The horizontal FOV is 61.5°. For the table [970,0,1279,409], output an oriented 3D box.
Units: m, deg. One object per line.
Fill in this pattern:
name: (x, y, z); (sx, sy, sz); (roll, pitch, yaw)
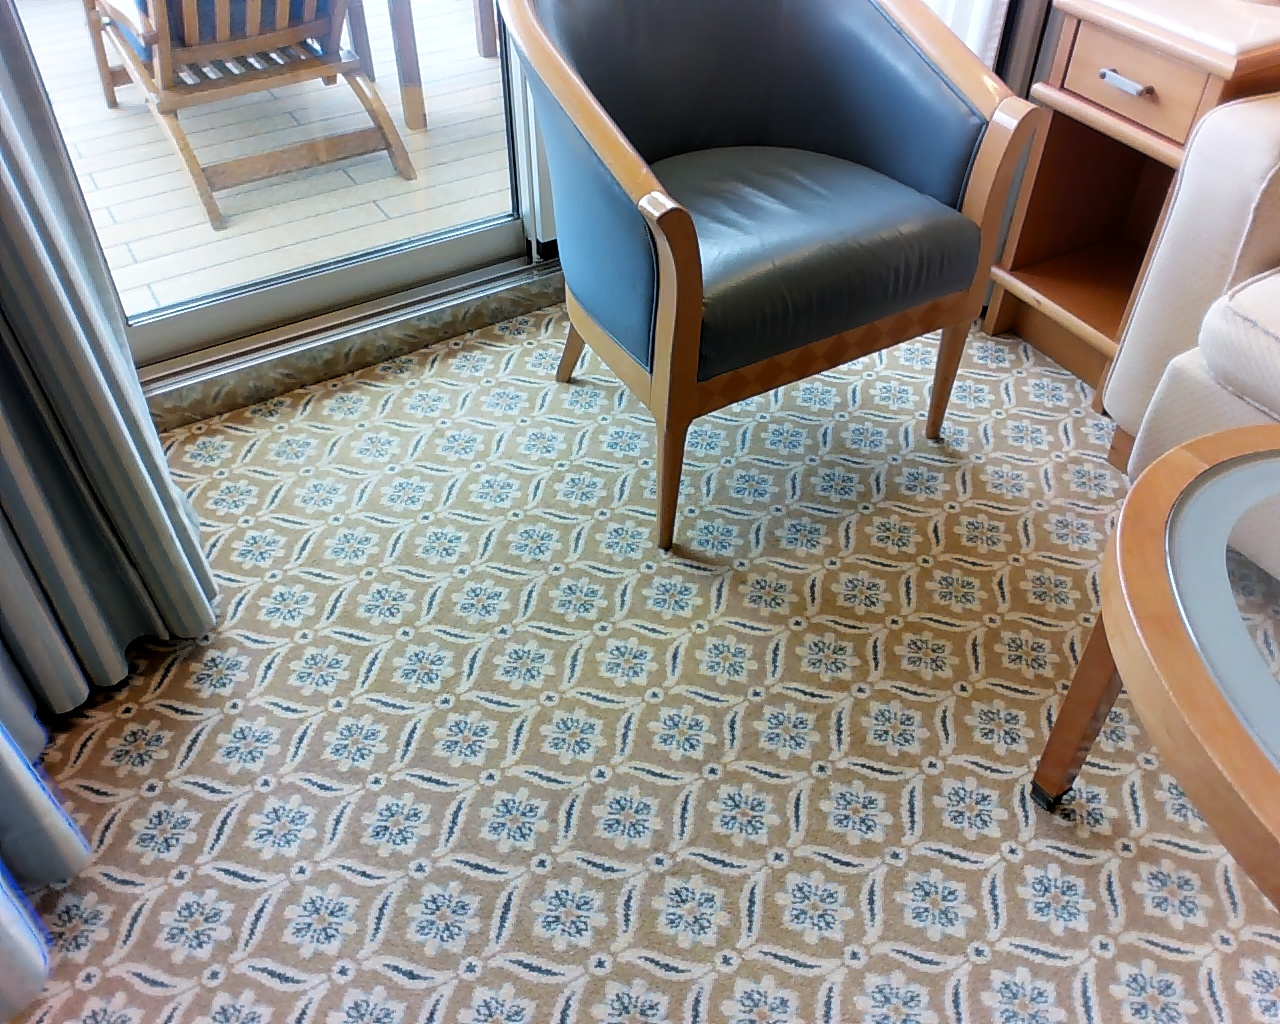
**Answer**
table: (1.040, -0.640, 1.950); (0.700, 0.650, 0.320); (-22, 47, -22)

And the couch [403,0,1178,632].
couch: (0.150, -0.500, 1.720); (0.710, 0.840, 0.850); (-22, 47, -22)
